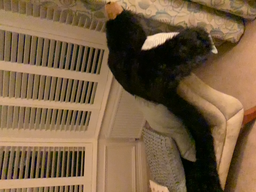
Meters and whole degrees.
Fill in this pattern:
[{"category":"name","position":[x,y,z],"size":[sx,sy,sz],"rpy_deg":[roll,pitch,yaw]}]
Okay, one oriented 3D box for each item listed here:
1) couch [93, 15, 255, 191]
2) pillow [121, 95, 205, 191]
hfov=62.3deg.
[{"category":"couch","position":[0.300,0.370,1.470],"size":[0.600,0.860,1.500],"rpy_deg":[-162,78,-65]},{"category":"pillow","position":[0.210,0.310,1.450],"size":[0.440,0.310,0.570],"rpy_deg":[-167,83,-66]}]
